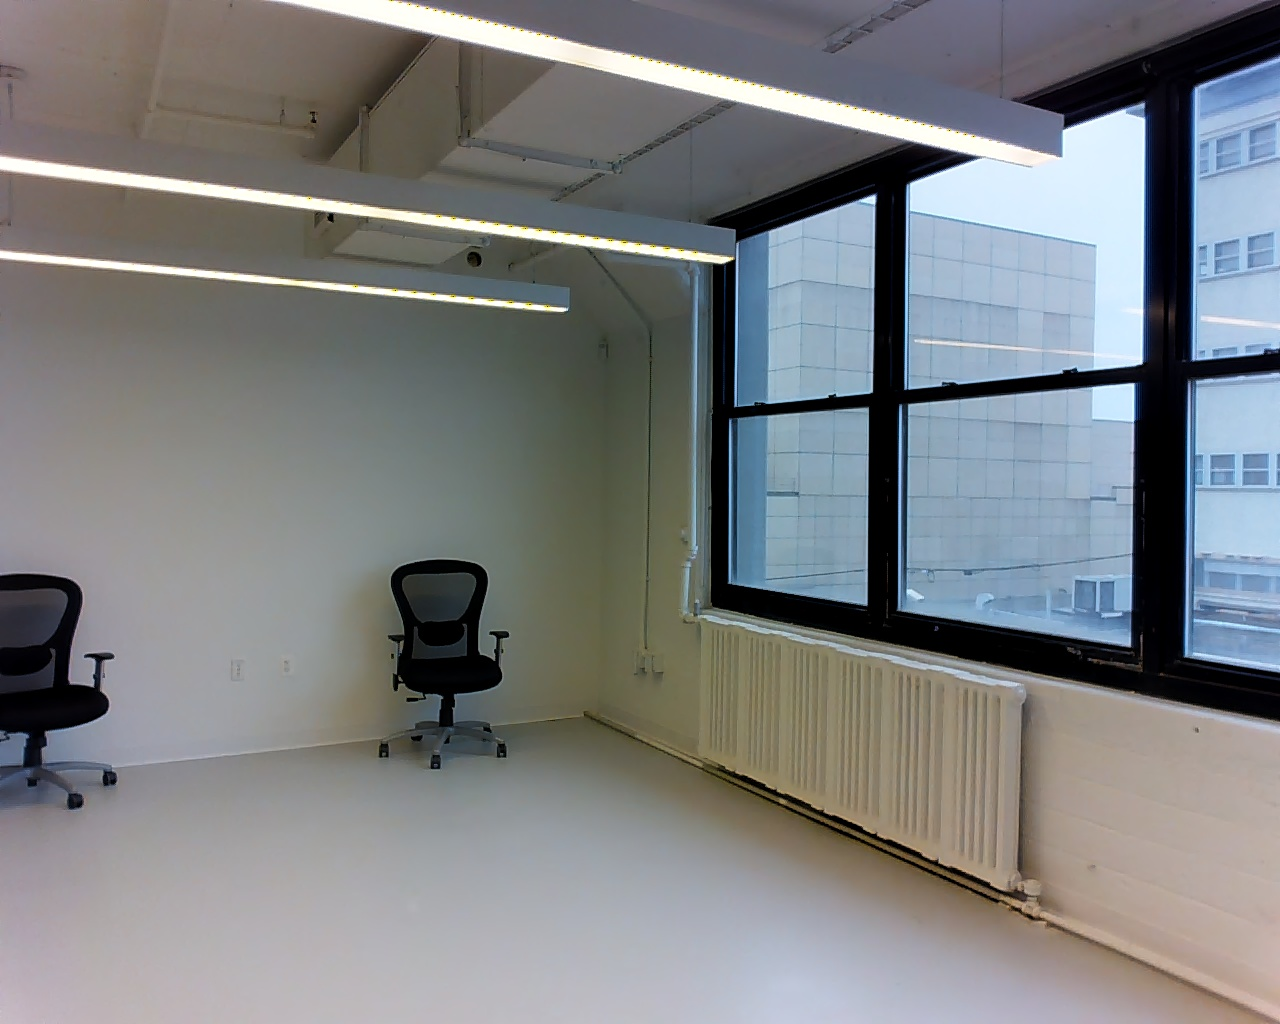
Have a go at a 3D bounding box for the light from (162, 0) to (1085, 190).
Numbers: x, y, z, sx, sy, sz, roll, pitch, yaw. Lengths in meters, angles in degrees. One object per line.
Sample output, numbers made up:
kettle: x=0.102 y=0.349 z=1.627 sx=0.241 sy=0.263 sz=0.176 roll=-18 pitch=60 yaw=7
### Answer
light: x=-0.080 y=-0.960 z=2.020 sx=2.480 sy=0.270 sz=0.200 roll=1 pitch=1 yaw=-29

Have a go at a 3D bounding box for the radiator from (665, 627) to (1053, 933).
radiator: x=0.780 y=1.020 z=4.680 sx=0.180 sy=0.770 sz=2.310 roll=1 pitch=1 yaw=-29

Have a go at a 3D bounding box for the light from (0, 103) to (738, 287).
light: x=-0.790 y=-0.940 z=3.300 sx=2.500 sy=0.180 sz=0.190 roll=1 pitch=1 yaw=-29
